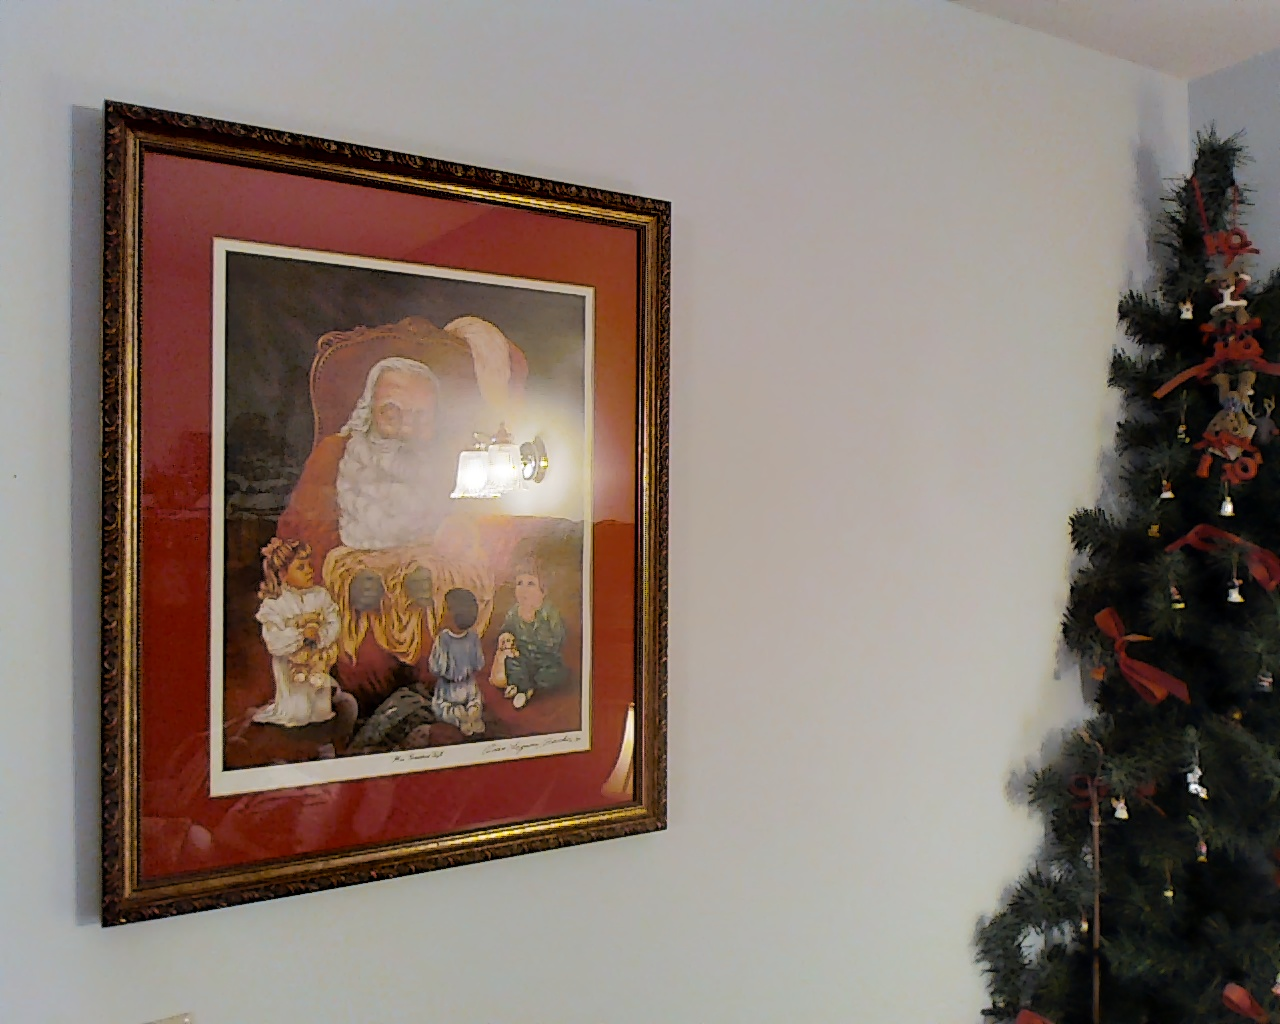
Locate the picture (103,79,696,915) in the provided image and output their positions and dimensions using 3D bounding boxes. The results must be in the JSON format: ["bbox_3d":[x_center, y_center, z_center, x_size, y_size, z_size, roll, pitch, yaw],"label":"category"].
[{"bbox_3d":[-0.160,-0.010,0.850,0.470,0.550,0.040,0,0,-32],"label":"picture"}]
